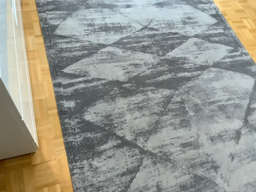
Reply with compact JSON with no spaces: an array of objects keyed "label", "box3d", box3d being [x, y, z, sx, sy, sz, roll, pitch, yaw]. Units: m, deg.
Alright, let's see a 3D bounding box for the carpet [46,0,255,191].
[{"label":"carpet","box3d":[0.240,-0.290,1.580,1.500,0.070,2.130,-8,65,-18]}]
